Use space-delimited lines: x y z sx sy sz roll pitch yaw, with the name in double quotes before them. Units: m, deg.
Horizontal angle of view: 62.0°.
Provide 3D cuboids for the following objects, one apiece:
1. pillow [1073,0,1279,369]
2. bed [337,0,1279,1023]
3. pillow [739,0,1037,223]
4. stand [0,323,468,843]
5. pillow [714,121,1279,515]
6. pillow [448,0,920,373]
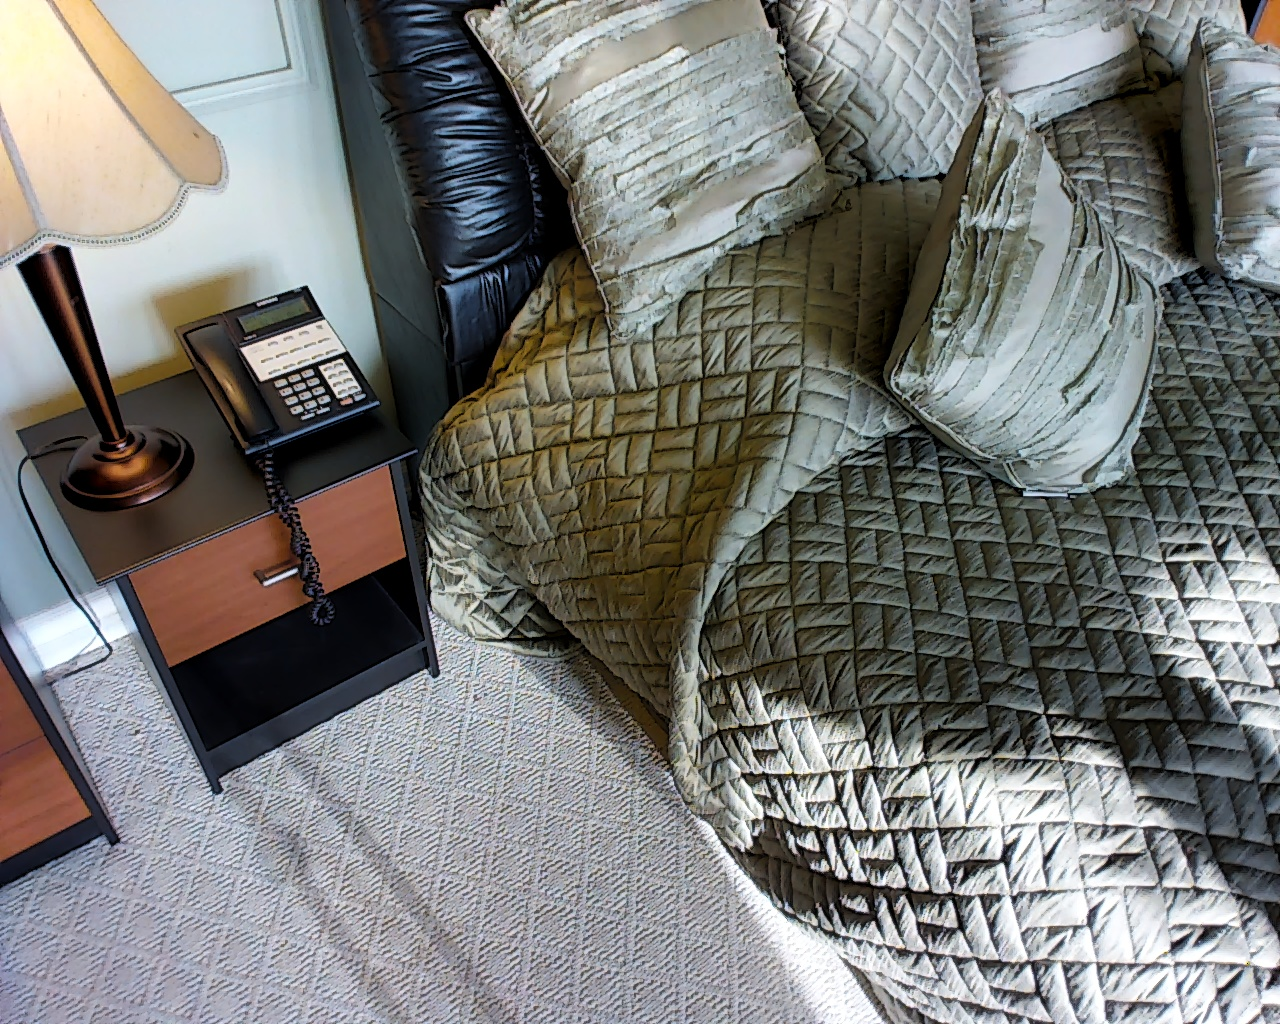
"pillow" 1.080 -0.560 1.800 0.440 0.380 0.530 23 46 24
"bed" 1.140 -0.110 1.480 2.050 1.140 2.440 -26 48 -27
"pillow" 0.390 -0.720 1.720 0.350 0.350 0.260 -20 45 -22
"stand" -0.640 0.090 1.680 0.540 0.490 0.430 -26 48 -27
"pillow" 0.520 -0.250 1.460 0.590 0.230 0.580 -25 4 -27
"pillow" 0.060 -0.550 1.560 0.520 0.420 0.370 -26 48 -27
